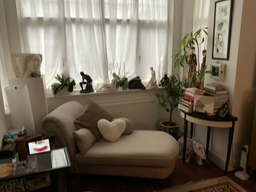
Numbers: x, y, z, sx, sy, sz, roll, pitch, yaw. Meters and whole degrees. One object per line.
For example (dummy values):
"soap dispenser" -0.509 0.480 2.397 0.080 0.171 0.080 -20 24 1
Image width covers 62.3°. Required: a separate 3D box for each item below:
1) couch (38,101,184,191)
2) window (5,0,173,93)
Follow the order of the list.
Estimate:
"couch" -0.160 0.550 2.570 1.480 0.820 0.710 0 14 5
"window" -0.410 -0.850 3.090 2.320 1.420 0.120 -5 15 -19
